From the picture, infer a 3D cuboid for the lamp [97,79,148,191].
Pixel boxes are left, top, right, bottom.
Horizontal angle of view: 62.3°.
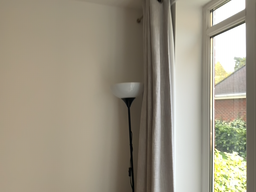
[{"bbox_3d":[-0.060,0.780,1.520,0.260,1.760,0.320,2,-3,-19],"label":"lamp"}]
